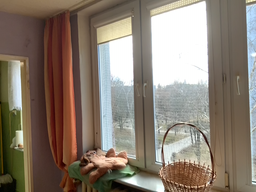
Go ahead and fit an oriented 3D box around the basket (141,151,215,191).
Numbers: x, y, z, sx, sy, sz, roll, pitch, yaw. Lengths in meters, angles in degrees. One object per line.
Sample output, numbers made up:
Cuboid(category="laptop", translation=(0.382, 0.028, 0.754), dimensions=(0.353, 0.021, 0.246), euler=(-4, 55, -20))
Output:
Cuboid(category="basket", translation=(0.380, 0.610, 1.610), dimensions=(0.470, 0.250, 0.290), euler=(-1, 1, 34))
